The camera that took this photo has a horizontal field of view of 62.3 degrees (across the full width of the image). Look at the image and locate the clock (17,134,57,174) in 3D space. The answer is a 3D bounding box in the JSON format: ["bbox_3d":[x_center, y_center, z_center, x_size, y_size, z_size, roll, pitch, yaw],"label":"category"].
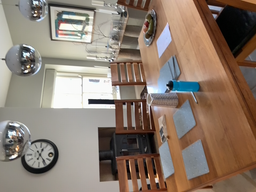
[{"bbox_3d":[-1.490,0.950,3.530,0.050,0.560,0.630,115,153,-55],"label":"clock"}]

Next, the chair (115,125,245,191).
[{"bbox_3d":[0.480,0.700,2.280,0.680,1.080,0.490,111,155,-51],"label":"chair"}]

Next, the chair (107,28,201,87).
[{"bbox_3d":[0.320,-0.500,2.960,0.590,1.100,0.460,116,152,-56],"label":"chair"}]
